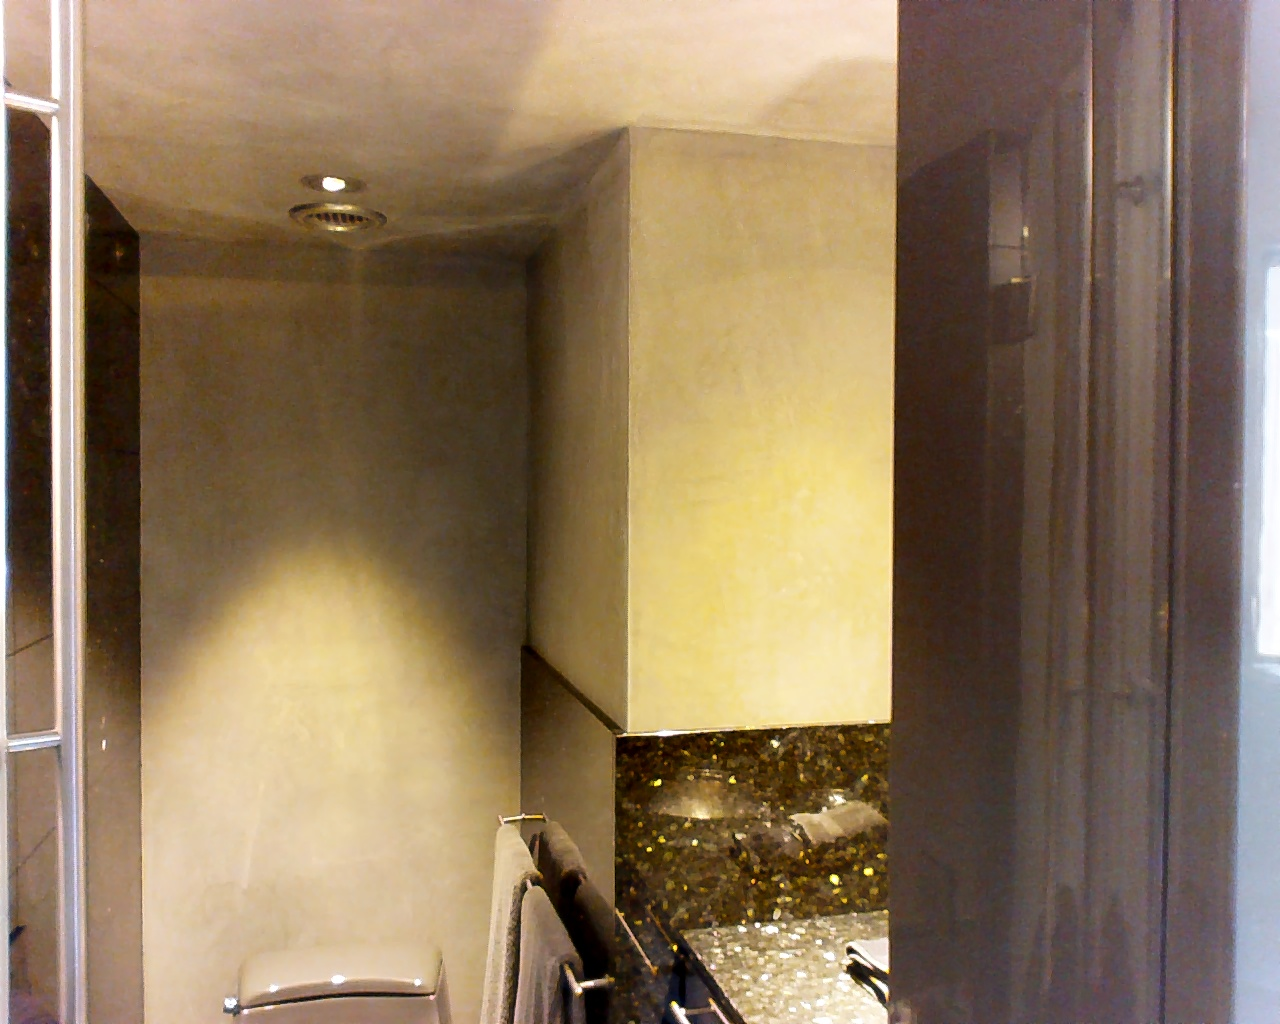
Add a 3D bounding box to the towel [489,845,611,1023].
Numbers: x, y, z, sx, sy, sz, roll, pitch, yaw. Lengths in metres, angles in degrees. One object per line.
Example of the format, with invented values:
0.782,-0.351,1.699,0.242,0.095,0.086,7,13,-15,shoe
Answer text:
-0.170,1.060,1.940,0.150,0.760,0.450,-1,1,-14,towel
